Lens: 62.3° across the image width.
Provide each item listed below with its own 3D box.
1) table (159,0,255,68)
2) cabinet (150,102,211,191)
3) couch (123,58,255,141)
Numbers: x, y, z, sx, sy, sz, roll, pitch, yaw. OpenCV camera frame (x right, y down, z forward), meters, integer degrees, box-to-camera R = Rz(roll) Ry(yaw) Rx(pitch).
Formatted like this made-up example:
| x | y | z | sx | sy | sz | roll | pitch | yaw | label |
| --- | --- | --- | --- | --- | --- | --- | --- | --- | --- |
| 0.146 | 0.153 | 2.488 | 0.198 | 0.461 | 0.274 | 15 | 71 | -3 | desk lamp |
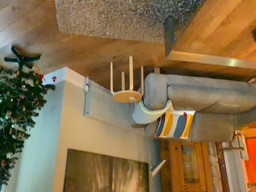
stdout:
| x | y | z | sx | sy | sz | roll | pitch | yaw | label |
| --- | --- | --- | --- | --- | --- | --- | --- | --- | --- |
| 0.980 | -0.670 | 1.500 | 1.170 | 0.410 | 1.070 | 4 | 158 | -12 | table |
| 0.980 | 1.170 | 4.110 | 0.840 | 1.960 | 0.530 | 6 | 158 | -17 | cabinet |
| 0.930 | 0.160 | 3.090 | 1.800 | 0.780 | 1.090 | 4 | 158 | -12 | couch |
